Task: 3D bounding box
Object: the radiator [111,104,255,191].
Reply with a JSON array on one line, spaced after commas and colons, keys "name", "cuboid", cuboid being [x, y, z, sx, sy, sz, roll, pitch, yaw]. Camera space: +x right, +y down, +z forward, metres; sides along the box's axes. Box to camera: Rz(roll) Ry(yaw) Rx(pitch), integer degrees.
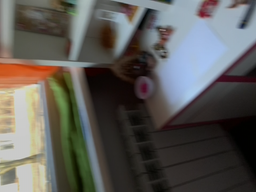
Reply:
[{"name": "radiator", "cuboid": [0.430, 0.530, 0.920, 0.220, 0.760, 0.950, -49, 51, 49]}]
